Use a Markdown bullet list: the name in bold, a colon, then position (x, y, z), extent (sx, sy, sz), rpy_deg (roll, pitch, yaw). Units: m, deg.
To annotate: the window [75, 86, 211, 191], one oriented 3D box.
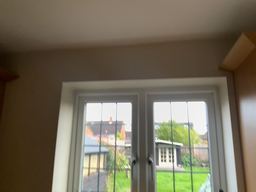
- **window**: position (0.080, 0.420, 1.450), extent (0.890, 0.960, 0.040), rpy_deg (-2, -13, 10)
